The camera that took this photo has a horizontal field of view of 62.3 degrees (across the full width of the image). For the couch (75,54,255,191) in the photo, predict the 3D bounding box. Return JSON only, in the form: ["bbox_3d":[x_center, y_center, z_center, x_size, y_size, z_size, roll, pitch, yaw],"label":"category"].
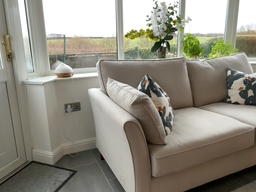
[{"bbox_3d":[0.680,0.130,2.000,2.050,0.870,1.060,-8,17,-25],"label":"couch"}]
